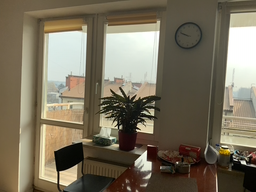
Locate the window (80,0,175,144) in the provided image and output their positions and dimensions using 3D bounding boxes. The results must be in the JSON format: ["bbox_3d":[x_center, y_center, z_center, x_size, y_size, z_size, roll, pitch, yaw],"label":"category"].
[{"bbox_3d":[-0.030,-0.270,2.310,0.920,1.400,0.250,5,3,24],"label":"window"}]

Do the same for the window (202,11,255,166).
[{"bbox_3d":[1.350,-0.040,1.800,1.270,1.330,0.120,5,3,20],"label":"window"}]

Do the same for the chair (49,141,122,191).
[{"bbox_3d":[-0.350,0.920,1.730,0.430,0.970,0.370,5,3,23],"label":"chair"}]
